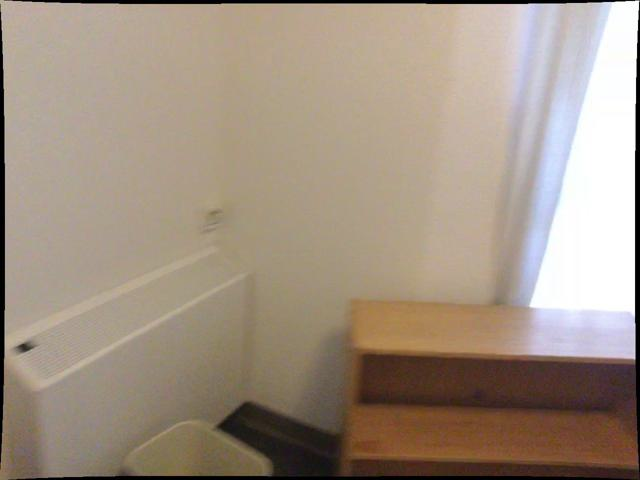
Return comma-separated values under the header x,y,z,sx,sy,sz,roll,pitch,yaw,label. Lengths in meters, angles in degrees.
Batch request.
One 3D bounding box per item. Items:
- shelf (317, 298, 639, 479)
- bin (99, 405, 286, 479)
x,y,z,sx,sy,sz,roll,pitch,yaw,label
0.499,0.631,1.830,0.958,0.711,0.450,3,23,-3,shelf
-0.369,0.811,1.720,0.409,0.401,0.320,14,24,22,bin
